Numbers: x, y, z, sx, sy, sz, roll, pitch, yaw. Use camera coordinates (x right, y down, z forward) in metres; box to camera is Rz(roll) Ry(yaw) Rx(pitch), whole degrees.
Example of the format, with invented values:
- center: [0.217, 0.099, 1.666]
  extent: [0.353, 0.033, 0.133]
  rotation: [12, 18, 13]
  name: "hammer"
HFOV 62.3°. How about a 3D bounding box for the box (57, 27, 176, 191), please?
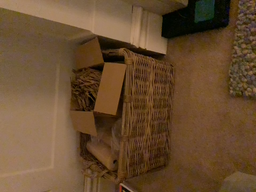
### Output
- center: [-0.080, 0.130, 1.160]
  extent: [0.480, 0.420, 0.810]
  rotation: [3, 91, 51]
  name: "box"
